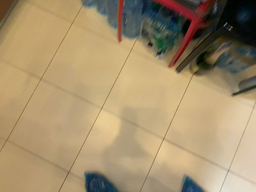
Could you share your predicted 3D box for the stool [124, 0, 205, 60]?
[{"bbox_3d":[0.130,-0.340,0.850,0.240,0.490,0.160,26,82,2],"label":"stool"}]
